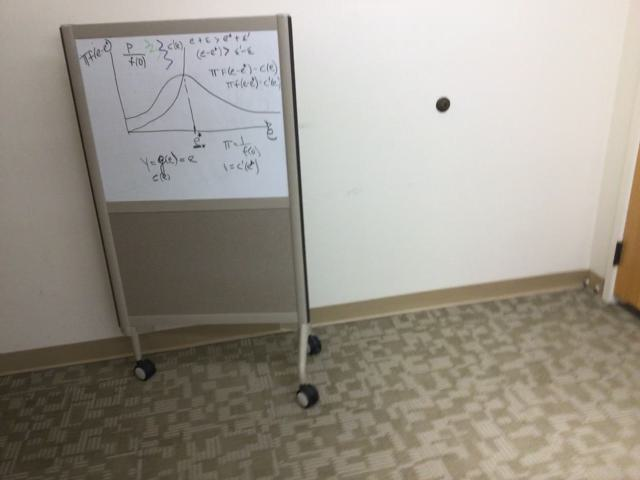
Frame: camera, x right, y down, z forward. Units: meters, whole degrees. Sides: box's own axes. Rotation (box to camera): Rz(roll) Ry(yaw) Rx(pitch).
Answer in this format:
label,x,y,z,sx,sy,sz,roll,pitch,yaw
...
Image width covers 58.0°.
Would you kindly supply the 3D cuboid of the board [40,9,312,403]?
label,x,y,z,sx,sy,sz,roll,pitch,yaw
board,-0.460,-0.080,2.050,0.790,1.320,0.220,-1,13,5
